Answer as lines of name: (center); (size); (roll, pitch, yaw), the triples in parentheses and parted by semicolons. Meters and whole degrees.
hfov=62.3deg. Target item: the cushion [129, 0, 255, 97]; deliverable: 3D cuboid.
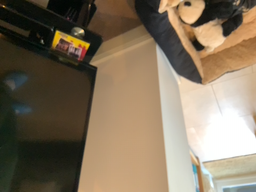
cushion: (0.490, -0.400, 1.150); (0.660, 0.190, 0.880); (-19, 138, 24)
